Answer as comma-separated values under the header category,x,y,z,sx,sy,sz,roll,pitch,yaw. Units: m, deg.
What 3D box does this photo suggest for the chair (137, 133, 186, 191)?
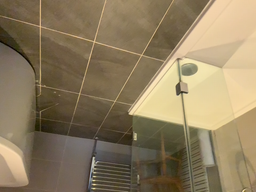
category,x,y,z,sx,sy,sz,roll,pitch,yaw
chair,0.370,0.930,2.380,0.360,0.880,0.400,-25,138,36
